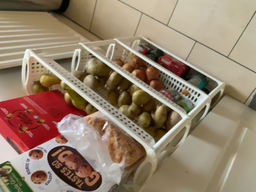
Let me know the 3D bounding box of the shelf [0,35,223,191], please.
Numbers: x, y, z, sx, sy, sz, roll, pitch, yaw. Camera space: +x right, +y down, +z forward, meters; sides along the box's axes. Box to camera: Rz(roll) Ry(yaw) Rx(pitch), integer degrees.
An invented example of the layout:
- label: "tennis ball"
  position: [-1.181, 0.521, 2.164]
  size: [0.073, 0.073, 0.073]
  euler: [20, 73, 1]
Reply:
- label: "shelf"
  position: [0.000, -0.030, 0.910]
  size: [0.610, 0.750, 0.170]
  euler: [36, 123, 21]
